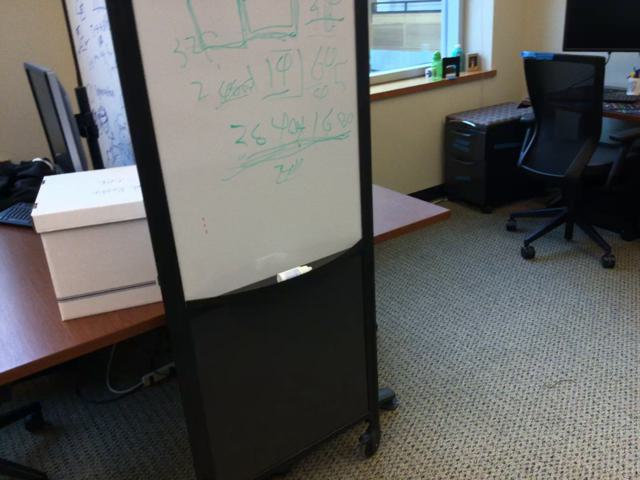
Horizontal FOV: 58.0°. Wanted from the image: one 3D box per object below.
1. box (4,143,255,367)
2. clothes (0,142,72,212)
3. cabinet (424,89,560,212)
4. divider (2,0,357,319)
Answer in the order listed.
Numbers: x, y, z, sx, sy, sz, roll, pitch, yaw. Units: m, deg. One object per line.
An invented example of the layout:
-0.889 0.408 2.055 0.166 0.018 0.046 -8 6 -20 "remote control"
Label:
-0.470 0.000 1.480 0.460 0.350 0.440 -14 22 -16 "box"
-1.290 -0.220 2.210 0.540 0.150 0.470 -19 24 -27 "clothes"
1.100 -0.600 3.700 0.650 0.600 0.510 -19 24 -27 "cabinet"
-0.550 -0.490 1.730 0.200 1.070 1.510 -24 26 -36 "divider"
